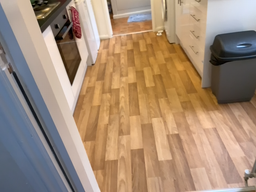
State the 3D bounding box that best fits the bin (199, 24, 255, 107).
[{"bbox_3d":[0.990,-0.270,1.860,0.580,0.580,0.350,-7,35,2],"label":"bin"}]
